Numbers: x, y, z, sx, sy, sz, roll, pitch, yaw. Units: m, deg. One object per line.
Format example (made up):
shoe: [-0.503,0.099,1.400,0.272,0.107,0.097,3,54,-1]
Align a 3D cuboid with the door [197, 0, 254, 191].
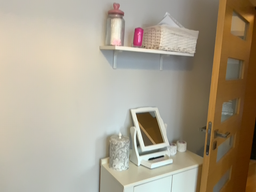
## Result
door: [0.750,0.290,1.670,0.060,1.970,0.760,10,11,38]
